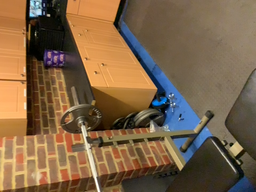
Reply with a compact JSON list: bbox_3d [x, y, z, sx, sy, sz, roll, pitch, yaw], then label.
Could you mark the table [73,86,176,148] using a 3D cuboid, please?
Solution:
[{"bbox_3d":[-0.040,0.210,2.140,0.190,0.890,0.610,62,141,42],"label":"table"}]
